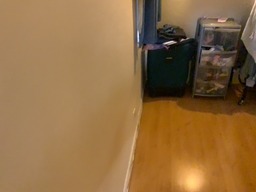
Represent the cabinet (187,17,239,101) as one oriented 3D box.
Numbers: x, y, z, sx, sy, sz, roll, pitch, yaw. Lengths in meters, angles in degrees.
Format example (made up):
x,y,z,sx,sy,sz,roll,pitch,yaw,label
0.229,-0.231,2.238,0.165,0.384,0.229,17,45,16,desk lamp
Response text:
x,y,z,sx,sy,sz,roll,pitch,yaw,label
0.930,-0.420,2.450,0.360,0.860,0.390,2,32,8,cabinet
